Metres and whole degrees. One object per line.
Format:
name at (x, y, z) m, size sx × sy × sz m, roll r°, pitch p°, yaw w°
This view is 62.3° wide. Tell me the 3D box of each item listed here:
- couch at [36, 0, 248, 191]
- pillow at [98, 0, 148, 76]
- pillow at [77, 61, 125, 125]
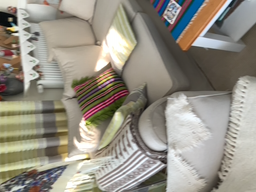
couch at (-0.190, -0.360, 1.990) m, size 1.080 × 0.900 × 2.150 m, roll -53°, pitch 48°, yaw 45°
pillow at (-0.070, -0.480, 1.780) m, size 0.380 × 0.140 × 0.480 m, roll -52°, pitch 49°, yaw 46°
pillow at (-0.220, -0.010, 1.780) m, size 0.160 × 0.380 × 0.410 m, roll -24°, pitch 64°, yaw 15°
